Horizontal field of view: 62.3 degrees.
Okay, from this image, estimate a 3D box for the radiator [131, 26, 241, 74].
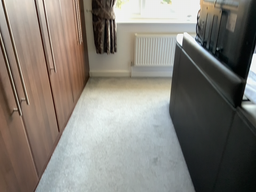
[{"bbox_3d":[0.740,-0.630,2.920,1.390,0.590,0.120,2,28,3],"label":"radiator"}]
